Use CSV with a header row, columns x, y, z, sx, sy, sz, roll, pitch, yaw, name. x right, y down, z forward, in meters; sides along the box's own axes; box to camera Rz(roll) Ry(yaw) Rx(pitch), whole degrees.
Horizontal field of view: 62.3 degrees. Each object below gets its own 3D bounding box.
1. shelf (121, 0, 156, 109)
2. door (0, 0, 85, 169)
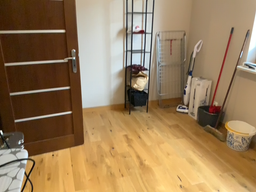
x,y,z,sx,sy,sz,roll,pitch,yaw,name
0.140,-0.650,3.330,0.390,1.720,0.300,-1,20,-10,shelf
-0.910,-0.270,2.110,0.840,2.100,0.130,-6,21,-20,door
